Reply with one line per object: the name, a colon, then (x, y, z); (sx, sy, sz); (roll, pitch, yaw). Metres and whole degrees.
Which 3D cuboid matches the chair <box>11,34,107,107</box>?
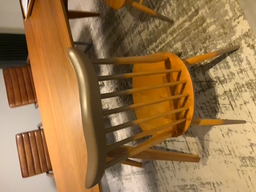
chair: (-0.770, -0.270, 2.320); (0.560, 0.790, 0.530); (-32, 71, 52)
